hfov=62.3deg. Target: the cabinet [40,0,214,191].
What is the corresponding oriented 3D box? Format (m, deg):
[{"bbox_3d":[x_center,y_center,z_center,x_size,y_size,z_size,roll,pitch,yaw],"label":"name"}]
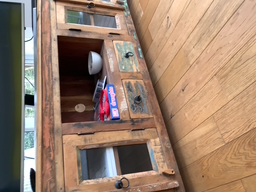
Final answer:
[{"bbox_3d":[-0.170,-0.010,1.280,0.520,0.650,1.790,119,143,-52],"label":"cabinet"}]
